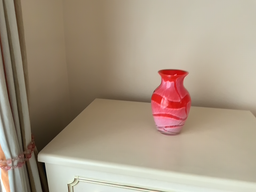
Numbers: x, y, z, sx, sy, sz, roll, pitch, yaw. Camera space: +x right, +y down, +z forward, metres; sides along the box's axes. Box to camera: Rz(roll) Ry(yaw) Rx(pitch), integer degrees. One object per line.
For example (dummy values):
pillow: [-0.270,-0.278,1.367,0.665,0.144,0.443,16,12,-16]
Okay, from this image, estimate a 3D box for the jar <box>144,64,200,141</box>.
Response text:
jar: [0.160,0.020,0.840,0.160,0.260,0.170,0,18,-3]
